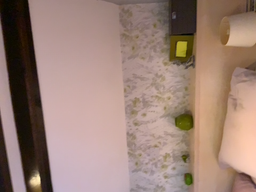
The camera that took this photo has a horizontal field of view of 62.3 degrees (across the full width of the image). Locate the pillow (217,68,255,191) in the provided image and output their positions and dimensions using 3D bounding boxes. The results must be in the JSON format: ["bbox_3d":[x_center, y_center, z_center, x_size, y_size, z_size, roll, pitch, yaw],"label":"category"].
[{"bbox_3d":[0.810,0.210,1.430,0.380,0.250,0.760,-71,-21,-78],"label":"pillow"}]

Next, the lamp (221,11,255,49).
[{"bbox_3d":[0.840,-0.420,1.360,0.170,0.410,0.210,-70,-22,-79],"label":"lamp"}]
